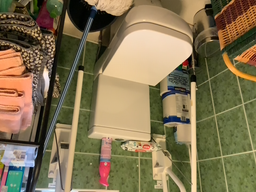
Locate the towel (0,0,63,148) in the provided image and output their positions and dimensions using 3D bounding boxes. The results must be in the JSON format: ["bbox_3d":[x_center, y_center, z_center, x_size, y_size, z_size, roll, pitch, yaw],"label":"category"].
[{"bbox_3d":[-0.530,-0.030,0.820,0.380,0.320,0.630,12,153,-24],"label":"towel"}]
